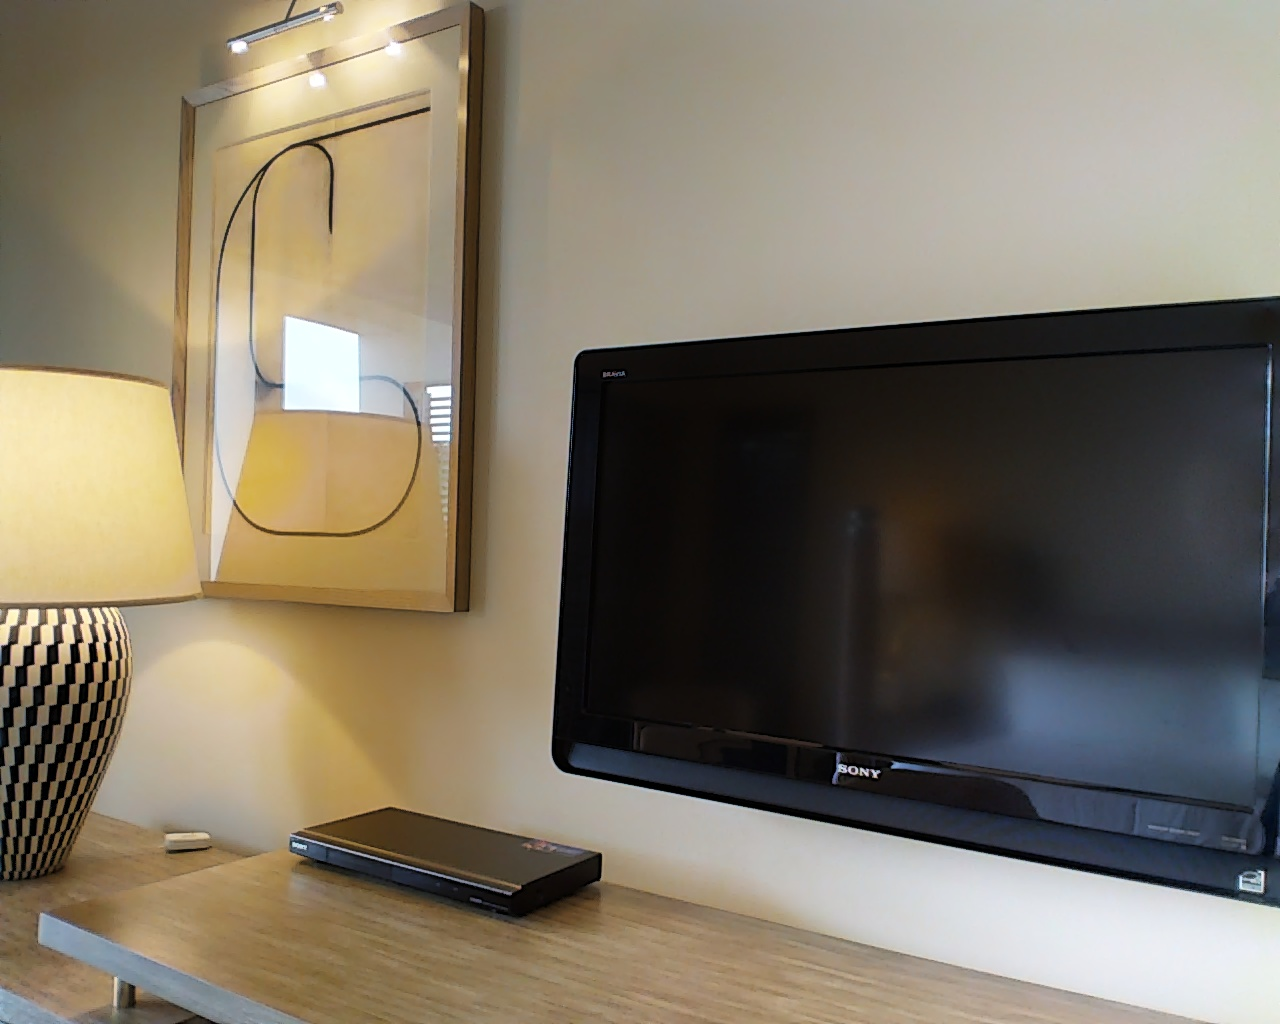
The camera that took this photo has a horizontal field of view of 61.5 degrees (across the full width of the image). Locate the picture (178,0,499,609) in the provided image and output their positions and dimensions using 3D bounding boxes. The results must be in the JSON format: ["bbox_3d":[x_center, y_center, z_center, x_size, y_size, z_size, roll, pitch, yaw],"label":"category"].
[{"bbox_3d":[-0.610,-0.390,2.080,0.790,1.100,0.060,1,-1,33],"label":"picture"}]

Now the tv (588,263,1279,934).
[{"bbox_3d":[0.360,0.080,1.350,0.890,0.660,0.190,1,-1,33],"label":"tv"}]
